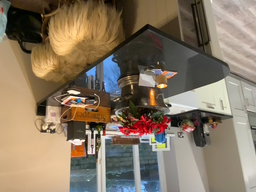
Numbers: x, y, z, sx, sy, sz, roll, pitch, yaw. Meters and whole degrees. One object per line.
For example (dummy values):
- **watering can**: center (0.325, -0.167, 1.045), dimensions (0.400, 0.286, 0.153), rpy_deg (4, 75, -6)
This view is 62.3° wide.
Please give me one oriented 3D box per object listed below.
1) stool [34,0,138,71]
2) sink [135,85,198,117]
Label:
- **stool**: center (-0.320, -0.640, 1.560), dimensions (0.510, 0.680, 0.530), rpy_deg (10, 159, -40)
- **sink**: center (0.510, 0.090, 2.820), dimensions (0.610, 0.230, 0.540), rpy_deg (10, 159, -39)
